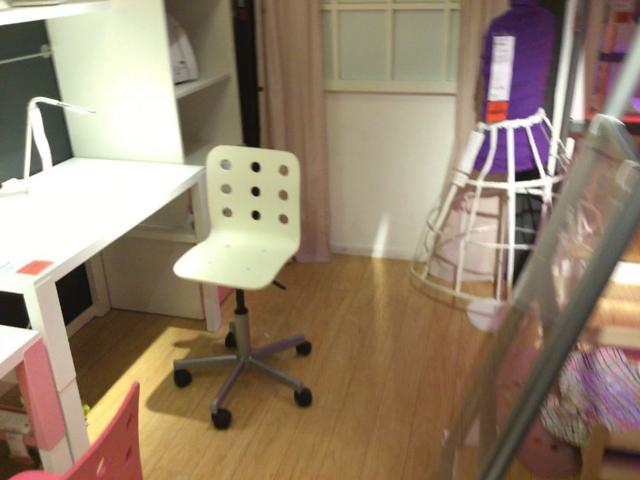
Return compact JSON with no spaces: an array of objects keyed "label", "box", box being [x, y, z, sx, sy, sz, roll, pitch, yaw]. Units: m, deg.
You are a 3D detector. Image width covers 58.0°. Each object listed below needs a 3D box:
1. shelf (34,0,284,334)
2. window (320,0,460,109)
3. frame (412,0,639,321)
[{"label":"shelf","box":[-0.620,-0.670,2.460,0.600,1.940,0.770,4,23,15]},{"label":"window","box":[0.290,-1.030,2.430,0.580,0.930,0.100,4,23,16]},{"label":"frame","box":[0.750,-0.340,2.130,0.710,1.030,0.610,4,23,16]}]
